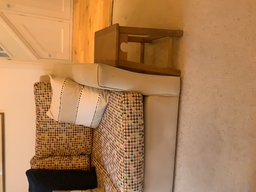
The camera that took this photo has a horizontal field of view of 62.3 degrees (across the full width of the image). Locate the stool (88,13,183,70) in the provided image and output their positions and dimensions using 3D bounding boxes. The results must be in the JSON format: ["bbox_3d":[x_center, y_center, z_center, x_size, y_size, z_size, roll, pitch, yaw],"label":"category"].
[{"bbox_3d":[0.040,-0.350,1.520,0.430,0.510,0.290,14,102,57],"label":"stool"}]
